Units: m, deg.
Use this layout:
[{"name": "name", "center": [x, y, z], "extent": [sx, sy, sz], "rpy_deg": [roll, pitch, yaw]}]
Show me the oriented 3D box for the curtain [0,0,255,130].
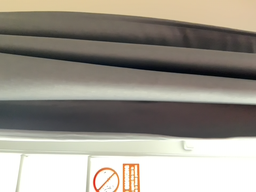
[{"name": "curtain", "center": [0.210, -0.080, 0.640], "extent": [0.270, 2.450, 0.280], "rpy_deg": [128, 144, -64]}]
